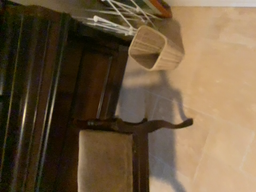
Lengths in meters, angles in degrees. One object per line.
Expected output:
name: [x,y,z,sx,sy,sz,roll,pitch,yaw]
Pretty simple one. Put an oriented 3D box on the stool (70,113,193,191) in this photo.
stool: [0.040,0.390,1.160,0.370,0.580,0.580,-6,83,43]
